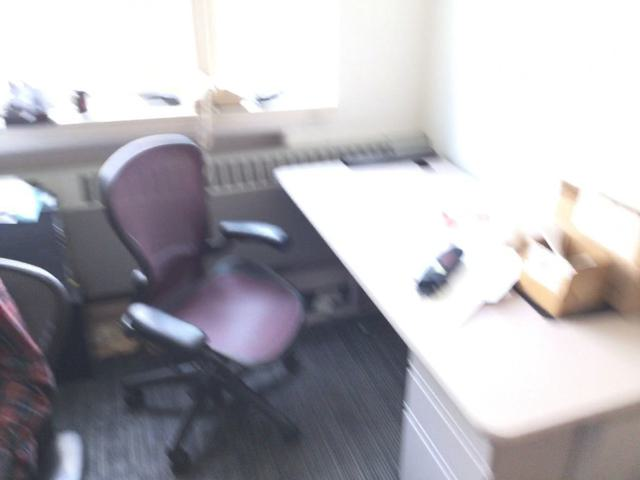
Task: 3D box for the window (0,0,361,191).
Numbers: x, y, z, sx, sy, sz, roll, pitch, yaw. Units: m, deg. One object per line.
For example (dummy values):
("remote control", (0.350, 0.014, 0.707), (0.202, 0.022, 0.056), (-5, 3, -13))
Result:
("window", (-0.920, -0.710, 2.060), (2.190, 0.990, 0.260), (-7, 28, -18))
